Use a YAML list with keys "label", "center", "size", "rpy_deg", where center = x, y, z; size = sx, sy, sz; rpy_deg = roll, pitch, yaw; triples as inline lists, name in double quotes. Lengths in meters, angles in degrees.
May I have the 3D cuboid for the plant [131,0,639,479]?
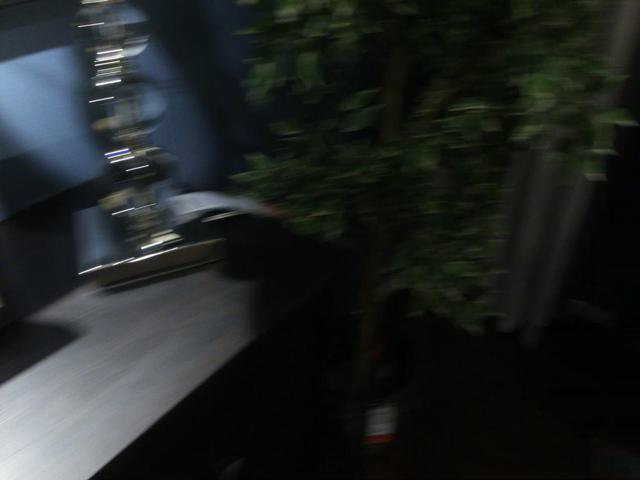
- label: "plant"
  center: [0.240, -0.150, 1.210]
  size: [0.680, 1.660, 0.780]
  rpy_deg: [17, 39, 37]
